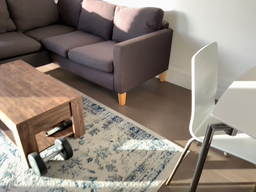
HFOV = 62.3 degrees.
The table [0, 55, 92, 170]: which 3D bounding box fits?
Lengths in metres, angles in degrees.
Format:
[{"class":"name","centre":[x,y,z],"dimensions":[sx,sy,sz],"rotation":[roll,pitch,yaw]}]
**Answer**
[{"class":"table","centre":[-0.900,0.050,1.840],"dimensions":[1.070,0.420,0.550],"rotation":[24,38,32]}]

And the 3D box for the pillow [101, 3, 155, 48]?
[{"class":"pillow","centre":[0.000,-0.840,2.500],"dimensions":[0.600,0.380,0.180],"rotation":[26,57,35]}]
